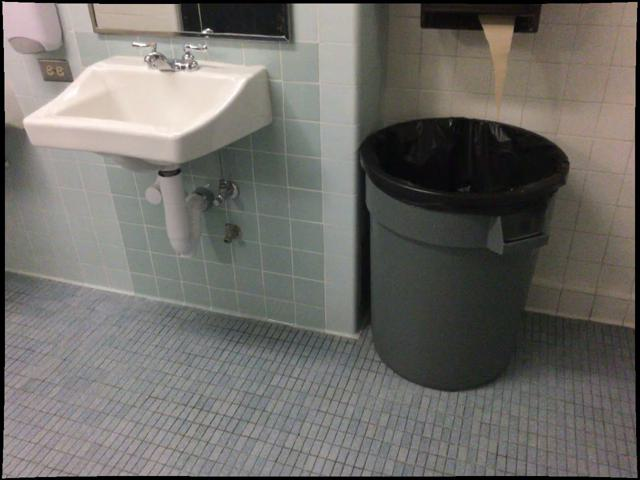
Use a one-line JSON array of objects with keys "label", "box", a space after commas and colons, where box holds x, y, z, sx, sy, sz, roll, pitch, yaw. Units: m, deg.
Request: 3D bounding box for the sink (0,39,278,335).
[{"label": "sink", "box": [-0.479, -0.170, 1.630, 0.549, 0.631, 0.460, 9, 35, 15]}]

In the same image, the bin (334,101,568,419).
[{"label": "bin", "box": [0.399, 0.030, 1.810, 0.549, 0.701, 0.610, 9, 35, 15]}]

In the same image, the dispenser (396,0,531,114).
[{"label": "dispenser", "box": [0.389, -0.642, 1.530, 0.319, 0.541, 0.190, 9, 35, 15]}]
